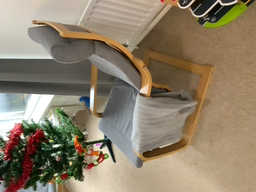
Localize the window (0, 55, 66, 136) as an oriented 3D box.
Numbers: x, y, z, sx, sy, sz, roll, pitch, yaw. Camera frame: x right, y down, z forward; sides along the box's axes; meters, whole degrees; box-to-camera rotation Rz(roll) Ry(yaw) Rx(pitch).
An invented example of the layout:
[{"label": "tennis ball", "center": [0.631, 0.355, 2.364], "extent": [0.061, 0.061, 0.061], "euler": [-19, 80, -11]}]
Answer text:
[{"label": "window", "center": [-1.920, 0.160, 2.640], "extent": [2.180, 1.640, 0.120], "euler": [-40, 60, 47]}]
